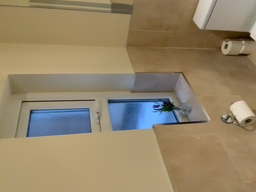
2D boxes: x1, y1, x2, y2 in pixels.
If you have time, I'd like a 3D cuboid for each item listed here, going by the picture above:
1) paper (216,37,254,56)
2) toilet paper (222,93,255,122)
[{"bbox_3d":[0.800,-0.370,1.590,0.110,0.220,0.080,104,158,-45],"label":"paper"},{"bbox_3d":[0.600,0.060,1.130,0.130,0.110,0.080,-108,23,-46],"label":"toilet paper"}]
